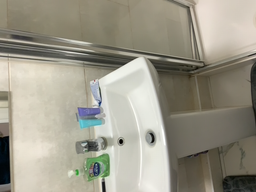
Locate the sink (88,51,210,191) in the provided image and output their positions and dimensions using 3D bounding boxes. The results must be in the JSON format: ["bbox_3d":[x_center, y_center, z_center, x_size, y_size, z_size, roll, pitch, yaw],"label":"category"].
[{"bbox_3d":[0.050,0.170,0.810,0.400,0.190,0.550,-17,77,51],"label":"sink"}]
